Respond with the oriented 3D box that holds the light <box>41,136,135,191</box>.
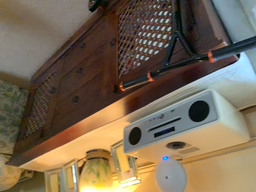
[{"bbox_3d":[-0.250,0.630,1.250,0.480,0.610,0.330,-25,139,32],"label":"light"}]
